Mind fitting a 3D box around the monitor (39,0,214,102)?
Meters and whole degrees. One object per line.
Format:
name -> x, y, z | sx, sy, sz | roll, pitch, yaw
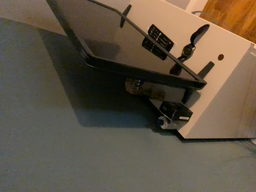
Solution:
monitor -> -0.060, -0.250, 0.840 | 0.070, 0.470, 0.720 | -60, 43, 26
